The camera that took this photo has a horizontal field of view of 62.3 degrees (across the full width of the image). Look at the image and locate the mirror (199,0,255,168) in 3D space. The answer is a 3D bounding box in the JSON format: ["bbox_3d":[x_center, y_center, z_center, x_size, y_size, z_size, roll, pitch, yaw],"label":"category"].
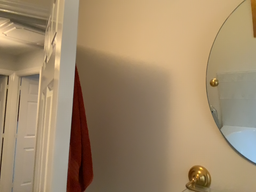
[{"bbox_3d":[0.460,-0.070,0.600,0.500,0.570,0.020,0,-4,40],"label":"mirror"}]
